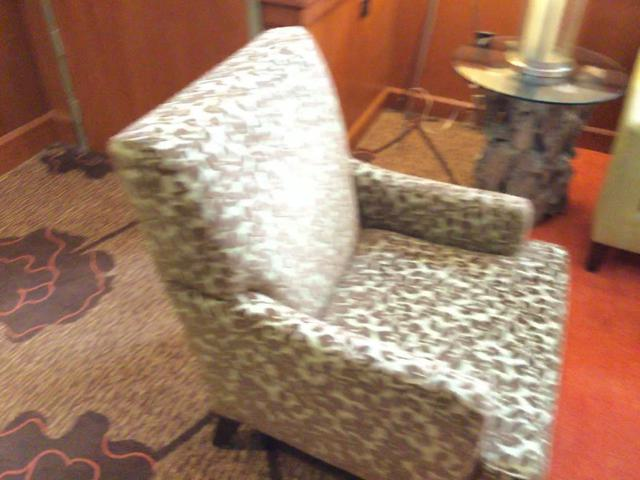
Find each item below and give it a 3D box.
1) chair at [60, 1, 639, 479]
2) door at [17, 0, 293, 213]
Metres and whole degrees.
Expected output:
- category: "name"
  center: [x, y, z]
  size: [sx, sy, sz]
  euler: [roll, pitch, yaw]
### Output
- category: "chair"
  center: [0.130, 0.070, 1.440]
  size: [0.900, 0.960, 0.790]
  euler: [17, 43, 21]
- category: "door"
  center: [-0.650, -0.720, 2.250]
  size: [1.040, 1.050, 0.240]
  euler: [17, 43, 21]
